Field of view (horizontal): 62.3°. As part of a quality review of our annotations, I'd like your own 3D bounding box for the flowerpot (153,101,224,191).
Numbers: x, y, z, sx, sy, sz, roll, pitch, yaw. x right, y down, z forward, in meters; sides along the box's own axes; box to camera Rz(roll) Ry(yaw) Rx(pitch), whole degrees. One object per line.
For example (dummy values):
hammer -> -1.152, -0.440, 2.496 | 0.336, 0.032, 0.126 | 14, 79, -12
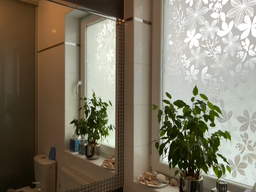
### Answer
flowerpot -> 0.350, 0.340, 1.250 | 0.250, 0.600, 0.310 | -1, 2, -42
